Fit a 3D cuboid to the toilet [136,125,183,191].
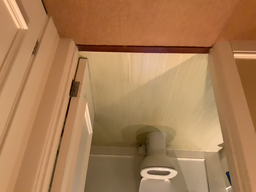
[{"bbox_3d":[0.290,0.820,2.230,0.390,0.820,0.660,2,149,1],"label":"toilet"}]
